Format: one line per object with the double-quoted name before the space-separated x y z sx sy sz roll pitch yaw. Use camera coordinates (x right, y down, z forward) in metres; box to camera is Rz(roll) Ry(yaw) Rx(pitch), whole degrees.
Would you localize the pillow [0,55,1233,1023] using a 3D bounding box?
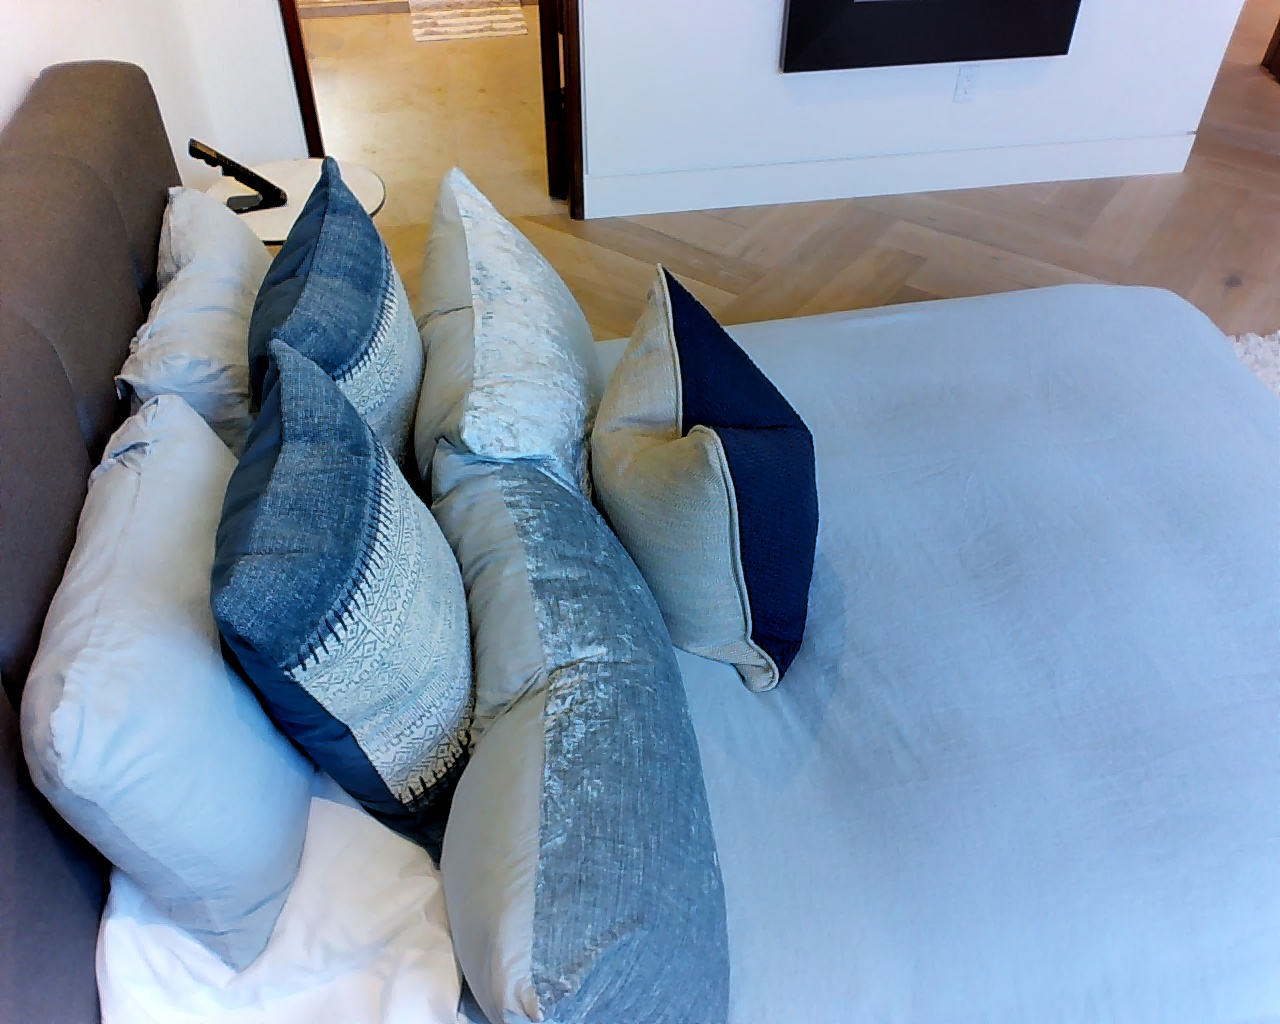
"pillow" -0.190 -0.080 1.510 1.030 0.480 1.610 -7 43 -8
